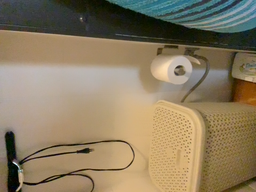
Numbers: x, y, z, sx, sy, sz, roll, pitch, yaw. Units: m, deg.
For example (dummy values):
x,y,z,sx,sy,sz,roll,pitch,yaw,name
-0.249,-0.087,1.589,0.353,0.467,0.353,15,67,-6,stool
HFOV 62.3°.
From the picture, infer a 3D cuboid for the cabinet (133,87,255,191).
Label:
x,y,z,sx,sy,sz,roll,pitch,yaw,name
0.440,0.190,1.000,0.360,0.730,0.380,26,115,59,cabinet
